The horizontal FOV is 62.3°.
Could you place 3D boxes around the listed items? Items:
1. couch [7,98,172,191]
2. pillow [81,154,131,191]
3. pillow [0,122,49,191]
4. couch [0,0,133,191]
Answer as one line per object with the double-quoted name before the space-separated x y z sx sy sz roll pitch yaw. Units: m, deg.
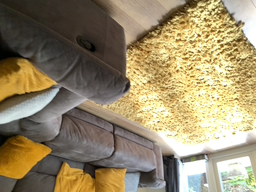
"couch" -0.390 0.950 2.760 1.720 0.960 1.040 28 139 -35
"pillow" -0.290 1.100 2.790 0.470 0.440 0.200 -27 169 -26
"pillow" -1.110 0.560 2.040 0.280 0.480 0.490 -28 177 9
"couch" -0.680 -0.090 1.140 0.970 0.970 1.010 28 139 -35
